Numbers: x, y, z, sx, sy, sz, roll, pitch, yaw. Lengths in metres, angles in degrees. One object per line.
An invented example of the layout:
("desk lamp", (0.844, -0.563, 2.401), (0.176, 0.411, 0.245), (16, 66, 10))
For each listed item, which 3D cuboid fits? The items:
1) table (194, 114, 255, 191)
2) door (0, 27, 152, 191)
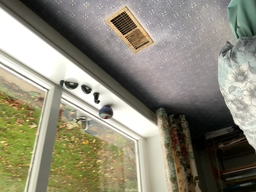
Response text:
("table", (1.060, 0.640, 2.100), (0.500, 0.650, 0.500), (-23, 141, 25))
("door", (-0.280, 0.820, 0.910), (0.110, 2.150, 1.630), (-24, 141, 26))
